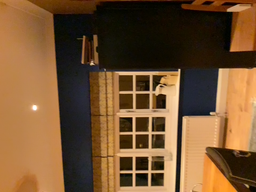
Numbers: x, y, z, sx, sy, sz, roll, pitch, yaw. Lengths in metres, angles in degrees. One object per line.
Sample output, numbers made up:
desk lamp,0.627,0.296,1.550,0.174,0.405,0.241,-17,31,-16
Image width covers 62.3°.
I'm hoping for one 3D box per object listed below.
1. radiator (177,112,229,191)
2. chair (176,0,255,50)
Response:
radiator,1.140,1.190,3.370,0.140,0.660,1.920,-97,7,-76
chair,1.010,-0.690,2.040,0.420,0.980,0.470,-99,8,-78
